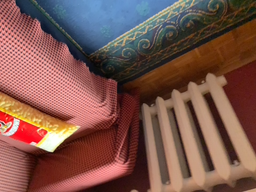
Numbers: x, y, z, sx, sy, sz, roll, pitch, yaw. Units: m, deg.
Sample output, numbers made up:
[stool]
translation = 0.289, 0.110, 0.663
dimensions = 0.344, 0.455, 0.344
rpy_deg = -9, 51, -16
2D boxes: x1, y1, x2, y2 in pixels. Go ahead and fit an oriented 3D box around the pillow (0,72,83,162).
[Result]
[pillow]
translation = -0.520, 0.080, 0.920
dimensions = 0.250, 0.130, 0.640
rpy_deg = -27, 133, 23
